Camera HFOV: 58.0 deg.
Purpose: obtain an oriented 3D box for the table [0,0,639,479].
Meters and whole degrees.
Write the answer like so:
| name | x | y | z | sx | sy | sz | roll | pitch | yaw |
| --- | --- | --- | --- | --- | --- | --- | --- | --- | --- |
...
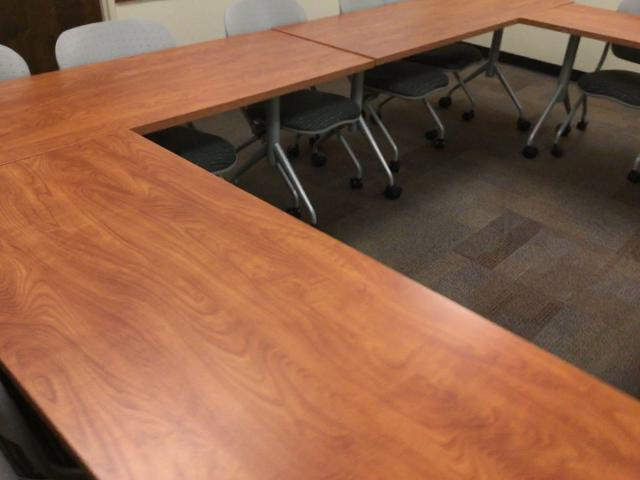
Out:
| name | x | y | z | sx | sy | sz | roll | pitch | yaw |
| --- | --- | --- | --- | --- | --- | --- | --- | --- | --- |
| table | 0.700 | -0.150 | 1.910 | 2.820 | 0.830 | 3.460 | 27 | 43 | 36 |
